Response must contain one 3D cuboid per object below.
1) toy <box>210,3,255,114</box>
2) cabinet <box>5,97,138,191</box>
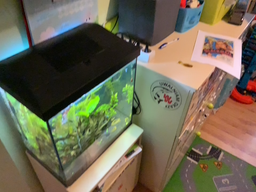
[{"bbox_3d":[1.240,-0.410,2.050,0.400,0.750,0.820,26,47,22],"label":"toy"},{"bbox_3d":[-0.240,0.410,1.120,0.340,0.580,0.450,29,48,24],"label":"cabinet"}]
